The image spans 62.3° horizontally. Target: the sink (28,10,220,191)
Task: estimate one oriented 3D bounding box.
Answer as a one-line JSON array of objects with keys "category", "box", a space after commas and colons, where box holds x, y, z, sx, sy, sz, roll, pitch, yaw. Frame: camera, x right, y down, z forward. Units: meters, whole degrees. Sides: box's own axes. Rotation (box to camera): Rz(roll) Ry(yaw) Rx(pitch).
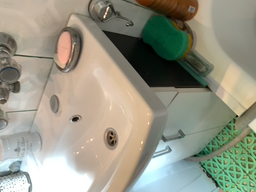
[{"category": "sink", "box": [-0.090, 0.110, 0.590, 0.380, 0.160, 0.510, 53, 127, 31]}]
